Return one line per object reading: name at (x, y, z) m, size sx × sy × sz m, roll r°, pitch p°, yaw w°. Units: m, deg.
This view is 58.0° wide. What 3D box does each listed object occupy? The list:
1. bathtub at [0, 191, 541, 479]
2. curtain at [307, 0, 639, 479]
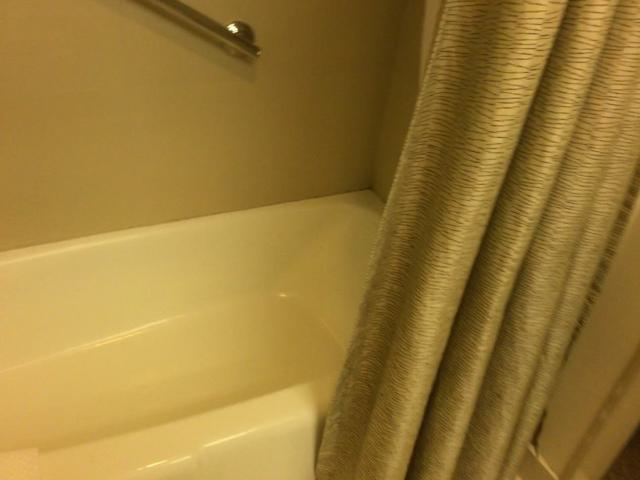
bathtub at (-0.340, 0.320, 1.390) m, size 1.440 × 0.390 × 0.750 m, roll -9°, pitch 37°, yaw -21°
curtain at (0.310, 0.150, 1.020) m, size 0.560 × 1.180 × 0.220 m, roll -11°, pitch 38°, yaw -24°
